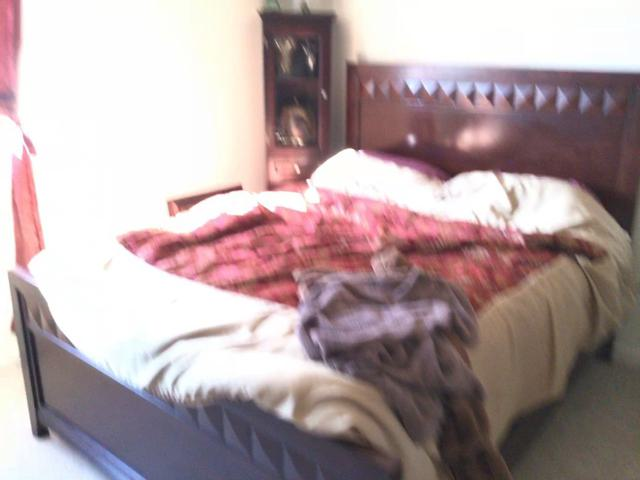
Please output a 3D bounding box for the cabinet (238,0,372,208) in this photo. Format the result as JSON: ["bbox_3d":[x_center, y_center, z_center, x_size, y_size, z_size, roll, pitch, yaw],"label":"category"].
[{"bbox_3d":[-0.070,-0.820,3.440,0.560,1.120,0.460,13,24,41],"label":"cabinet"}]

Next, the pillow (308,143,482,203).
[{"bbox_3d":[0.380,-0.370,3.030,0.780,0.160,0.450,13,24,41],"label":"pillow"}]
